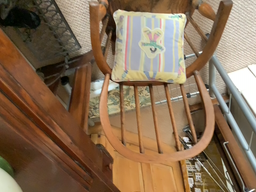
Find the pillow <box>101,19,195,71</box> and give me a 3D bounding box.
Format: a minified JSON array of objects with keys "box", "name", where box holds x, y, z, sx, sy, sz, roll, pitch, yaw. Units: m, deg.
[{"box":[0.080,-0.180,0.700,0.250,0.250,0.090,16,112,11],"name":"pillow"}]
